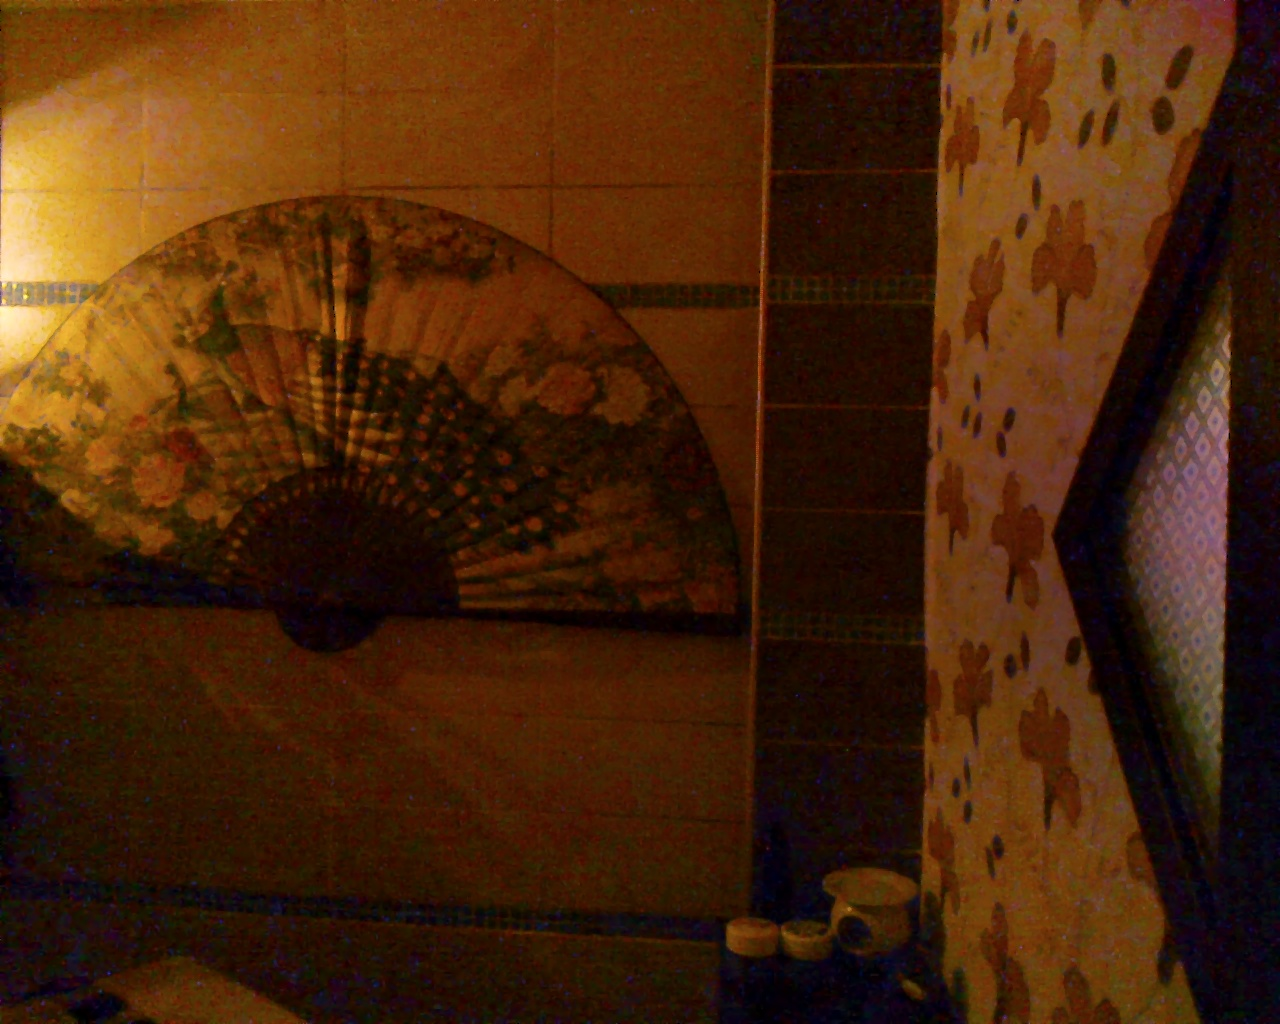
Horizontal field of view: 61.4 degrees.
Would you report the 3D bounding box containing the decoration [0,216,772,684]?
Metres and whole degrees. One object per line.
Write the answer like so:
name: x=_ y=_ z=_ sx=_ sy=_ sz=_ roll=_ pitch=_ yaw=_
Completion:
decoration: x=-0.600 y=-0.140 z=2.310 sx=1.730 sy=0.950 sz=0.110 roll=1 pitch=0 yaw=3
